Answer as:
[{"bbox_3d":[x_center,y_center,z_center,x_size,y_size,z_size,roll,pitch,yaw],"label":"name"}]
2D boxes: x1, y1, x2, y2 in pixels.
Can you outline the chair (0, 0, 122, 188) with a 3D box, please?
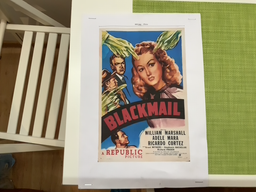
[{"bbox_3d":[-0.270,-0.070,0.710,0.450,0.770,0.460,4,84,0],"label":"chair"}]
